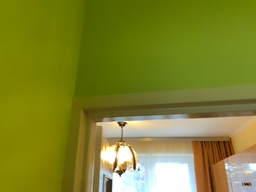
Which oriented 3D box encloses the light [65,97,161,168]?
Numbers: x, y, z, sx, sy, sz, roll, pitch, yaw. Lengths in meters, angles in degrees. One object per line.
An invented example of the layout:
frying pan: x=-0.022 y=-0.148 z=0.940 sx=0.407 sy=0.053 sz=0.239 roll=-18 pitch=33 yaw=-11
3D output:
light: x=-0.080 y=0.480 z=2.400 sx=0.740 sy=0.950 sz=0.570 roll=-5 pitch=-113 yaw=18
